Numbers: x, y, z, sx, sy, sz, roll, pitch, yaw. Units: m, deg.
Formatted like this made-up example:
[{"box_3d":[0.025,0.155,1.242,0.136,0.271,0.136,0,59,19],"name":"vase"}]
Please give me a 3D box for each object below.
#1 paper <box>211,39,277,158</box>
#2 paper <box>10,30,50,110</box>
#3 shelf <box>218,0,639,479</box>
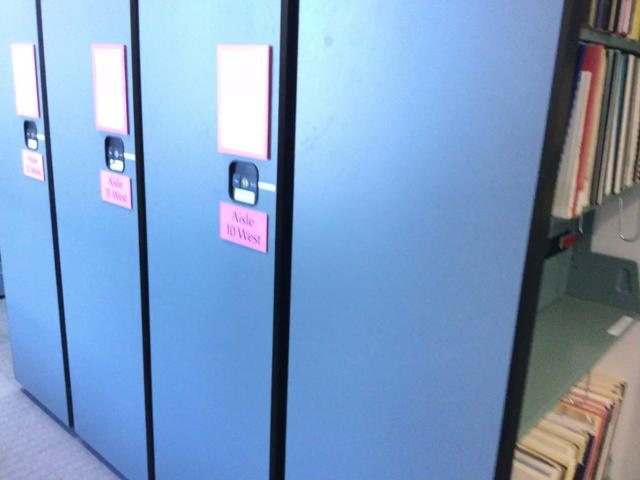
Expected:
[{"box_3d":[-0.170,-0.310,1.260,0.180,0.240,0.020,15,18,39],"name":"paper"},{"box_3d":[-0.940,-0.550,1.870,0.190,0.240,0.030,15,18,39],"name":"paper"},{"box_3d":[0.420,-0.230,1.390,0.720,2.530,1.060,15,18,39],"name":"shelf"}]
